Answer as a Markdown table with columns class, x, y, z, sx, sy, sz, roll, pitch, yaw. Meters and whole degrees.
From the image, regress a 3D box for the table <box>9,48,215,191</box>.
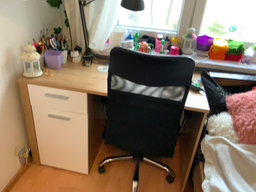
| class | x | y | z | sx | sy | sz | roll | pitch | yaw |
| --- | --- | --- | --- | --- | --- | --- | --- | --- | --- |
| table | -0.110 | 0.160 | 1.710 | 1.260 | 0.780 | 0.580 | 9 | 30 | 6 |

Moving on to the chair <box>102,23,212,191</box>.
| class | x | y | z | sx | sy | sz | roll | pitch | yaw |
| --- | --- | --- | --- | --- | --- | --- | --- | --- | --- |
| chair | 0.160 | 0.100 | 1.580 | 0.510 | 1.060 | 0.700 | 9 | 30 | 7 |
